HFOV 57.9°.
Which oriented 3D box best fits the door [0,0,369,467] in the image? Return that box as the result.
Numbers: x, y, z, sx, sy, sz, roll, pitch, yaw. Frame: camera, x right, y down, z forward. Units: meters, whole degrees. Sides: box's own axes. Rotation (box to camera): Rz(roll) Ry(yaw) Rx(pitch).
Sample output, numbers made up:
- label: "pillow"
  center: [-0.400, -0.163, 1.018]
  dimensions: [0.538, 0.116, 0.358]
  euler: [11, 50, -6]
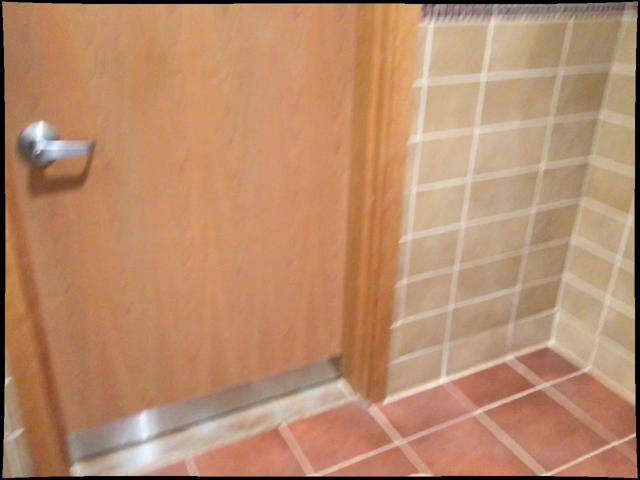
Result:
- label: "door"
  center: [-0.300, -0.390, 1.430]
  dimensions: [0.899, 2.072, 0.100]
  euler: [-12, 28, -23]
